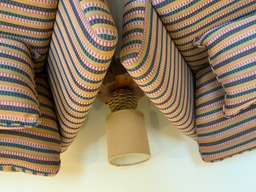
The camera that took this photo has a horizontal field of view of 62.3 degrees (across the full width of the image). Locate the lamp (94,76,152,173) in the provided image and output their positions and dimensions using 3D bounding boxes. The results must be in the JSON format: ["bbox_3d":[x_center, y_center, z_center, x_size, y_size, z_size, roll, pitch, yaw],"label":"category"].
[{"bbox_3d":[-0.020,0.150,1.050,0.210,0.350,0.310,-9,148,1],"label":"lamp"}]

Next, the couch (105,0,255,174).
[{"bbox_3d":[0.490,-0.240,0.880,0.870,0.790,0.820,-20,146,17],"label":"couch"}]
